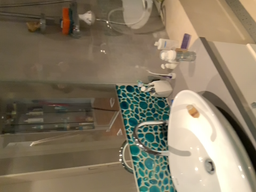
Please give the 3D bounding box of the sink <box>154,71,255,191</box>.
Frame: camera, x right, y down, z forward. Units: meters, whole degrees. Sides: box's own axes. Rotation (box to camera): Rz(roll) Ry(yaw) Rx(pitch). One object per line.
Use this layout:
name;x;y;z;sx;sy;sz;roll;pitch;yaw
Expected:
sink;0.310;0.240;0.840;0.390;0.130;0.550;118;145;-51
